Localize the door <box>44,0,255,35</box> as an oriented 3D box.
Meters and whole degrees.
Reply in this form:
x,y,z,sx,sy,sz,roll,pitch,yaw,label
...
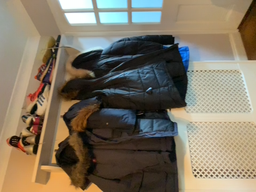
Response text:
x,y,z,sx,sy,sz,roll,pitch,yaw,label
0.270,-0.940,2.090,0.810,2.170,0.040,86,-176,-61,door
